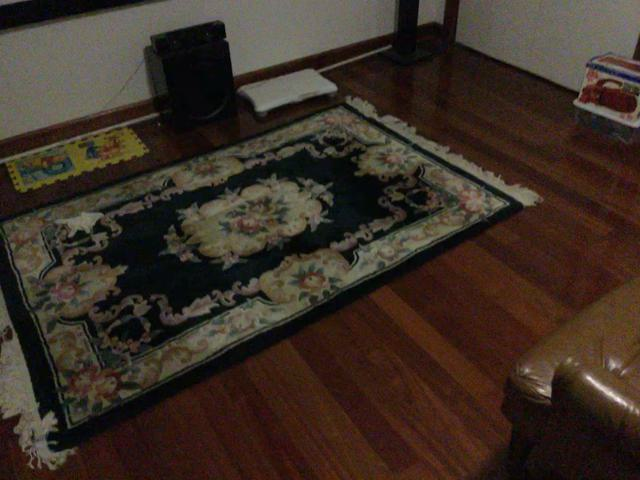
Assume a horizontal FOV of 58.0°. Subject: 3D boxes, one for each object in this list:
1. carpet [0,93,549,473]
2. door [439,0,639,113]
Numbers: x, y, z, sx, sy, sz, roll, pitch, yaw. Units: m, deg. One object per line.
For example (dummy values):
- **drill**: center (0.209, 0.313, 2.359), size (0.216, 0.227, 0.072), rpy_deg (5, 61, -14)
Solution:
- **carpet**: center (-0.230, -0.090, 2.270), size (1.890, 0.060, 1.230), rpy_deg (-25, 43, -25)
- **door**: center (1.060, -1.560, 2.670), size (0.090, 1.620, 1.210), rpy_deg (-23, 42, -23)
